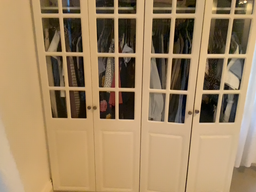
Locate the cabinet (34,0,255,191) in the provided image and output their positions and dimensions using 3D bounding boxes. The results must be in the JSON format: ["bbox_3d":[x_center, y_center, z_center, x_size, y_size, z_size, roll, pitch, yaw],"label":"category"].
[{"bbox_3d":[0.150,-0.260,1.740,1.530,2.190,0.500,1,18,1],"label":"cabinet"}]
